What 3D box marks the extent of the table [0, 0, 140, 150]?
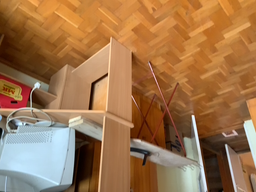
[{"bbox_3d":[-0.590,-0.080,1.800,0.950,0.680,0.980,-25,141,35],"label":"table"}]
